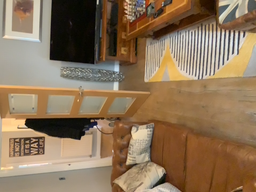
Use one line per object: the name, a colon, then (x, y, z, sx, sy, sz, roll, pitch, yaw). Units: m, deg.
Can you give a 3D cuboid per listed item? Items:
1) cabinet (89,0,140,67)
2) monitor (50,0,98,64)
cabinet: (-0.260, -1.140, 3.730, 0.700, 0.630, 1.140, -172, 85, -65)
monitor: (-0.860, -1.170, 3.450, 0.080, 0.700, 1.220, -172, 85, -65)
